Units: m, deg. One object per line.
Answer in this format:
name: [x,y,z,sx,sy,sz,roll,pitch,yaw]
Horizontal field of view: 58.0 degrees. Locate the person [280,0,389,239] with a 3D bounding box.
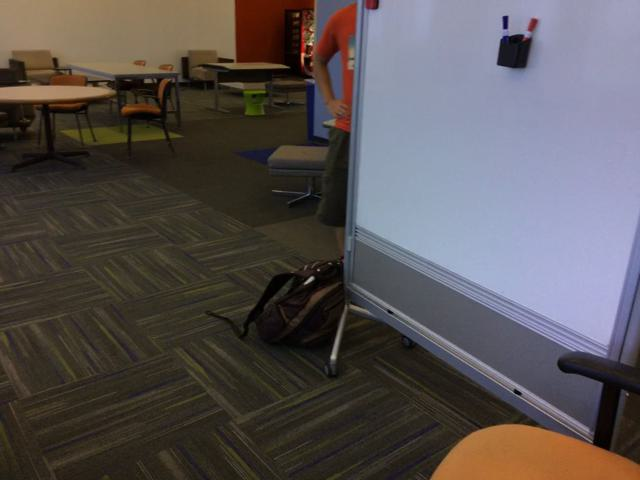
person: [0.050,-0.640,3.040,0.250,1.190,0.380,-8,26,-35]

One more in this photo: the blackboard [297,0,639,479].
blackboard: [0.450,-0.150,1.920,0.290,1.700,1.410,-11,27,-31]

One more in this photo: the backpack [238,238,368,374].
backpack: [-0.090,0.280,2.650,0.400,0.420,0.400,-8,26,-35]
